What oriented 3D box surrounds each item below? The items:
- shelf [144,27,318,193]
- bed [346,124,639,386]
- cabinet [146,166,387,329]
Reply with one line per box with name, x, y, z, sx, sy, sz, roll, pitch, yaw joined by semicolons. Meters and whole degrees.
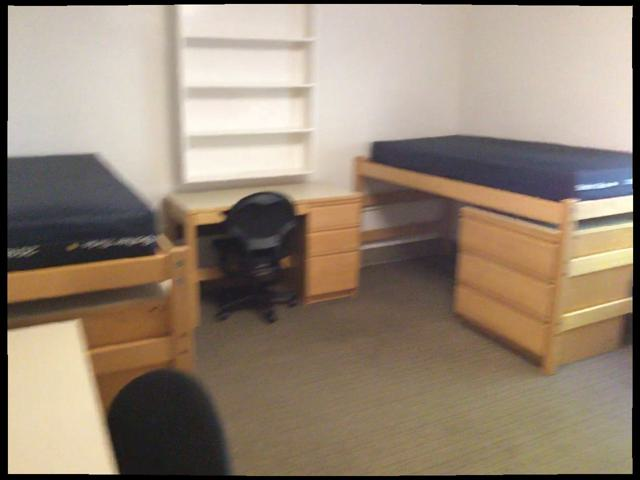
shelf;-0.589;-0.922;4.060;1.118;1.042;0.280;-8;18;-24
bed;1.168;-0.130;3.950;1.088;1.112;2.179;-8;18;-24
cabinet;-0.369;-0.020;4.090;1.498;0.801;0.750;-8;18;-24
